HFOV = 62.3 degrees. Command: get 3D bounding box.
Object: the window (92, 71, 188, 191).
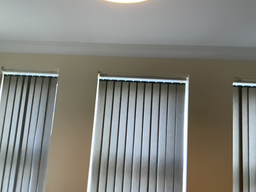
[{"bbox_3d":[0.110,0.510,1.960,0.820,1.470,0.040,3,-8,6],"label":"window"}]
